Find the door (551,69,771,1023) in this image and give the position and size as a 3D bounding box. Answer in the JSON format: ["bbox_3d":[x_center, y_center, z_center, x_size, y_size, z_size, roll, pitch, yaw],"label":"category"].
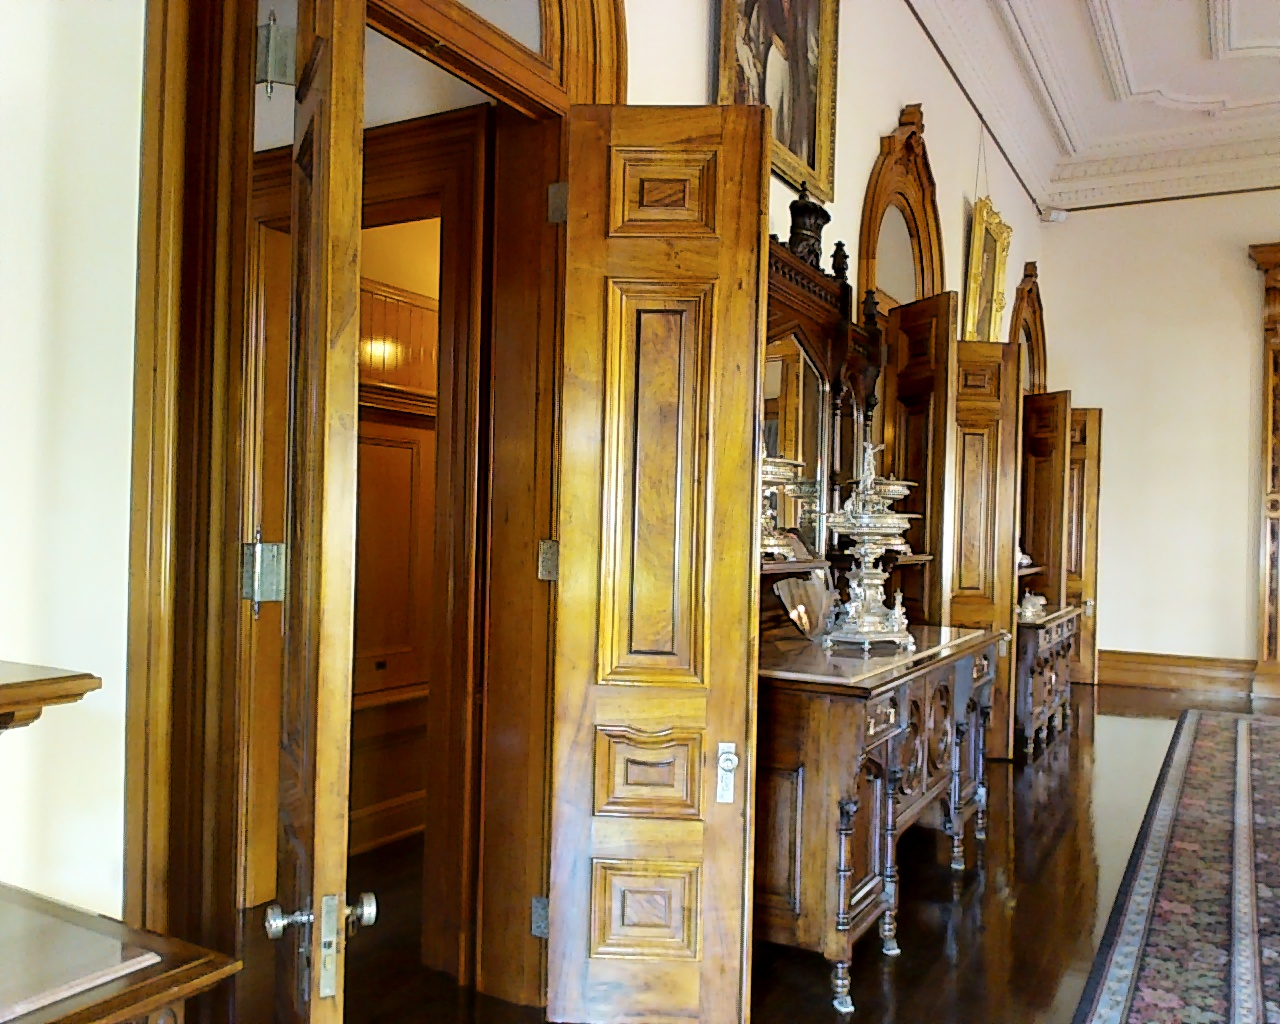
[{"bbox_3d":[0.070,0.090,3.360,0.590,2.870,0.150,2,-1,11],"label":"door"}]

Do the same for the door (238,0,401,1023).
[{"bbox_3d":[-0.710,0.090,2.350,0.240,2.860,0.350,2,-1,-22],"label":"door"}]

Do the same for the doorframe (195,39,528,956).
[{"bbox_3d":[-1.100,-0.070,4.090,1.420,3.130,0.160,1,-1,30],"label":"doorframe"}]
